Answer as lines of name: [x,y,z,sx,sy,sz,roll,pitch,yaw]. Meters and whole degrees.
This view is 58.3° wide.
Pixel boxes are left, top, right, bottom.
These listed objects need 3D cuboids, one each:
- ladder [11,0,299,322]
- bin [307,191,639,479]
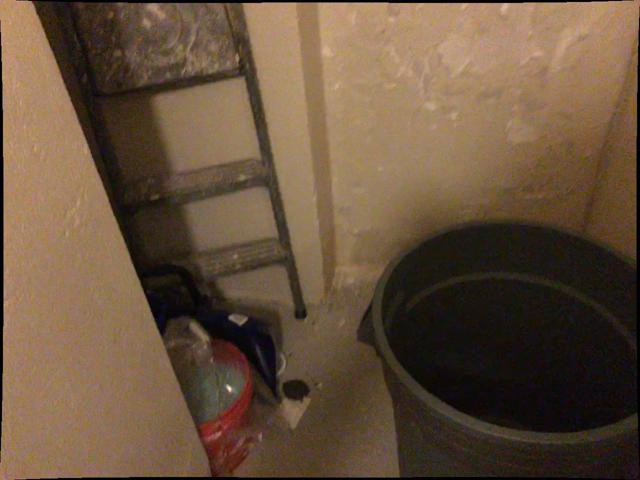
ladder: [-0.400,-0.430,1.470,0.510,1.471,0.240,-10,39,-5]
bin: [0.380,0.350,1.280,0.649,0.680,0.590,3,39,11]
